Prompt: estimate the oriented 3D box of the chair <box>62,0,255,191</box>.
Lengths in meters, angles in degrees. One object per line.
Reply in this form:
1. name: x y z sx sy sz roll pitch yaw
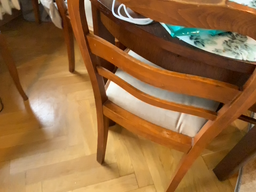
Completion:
1. chair: 0.130 -0.020 0.790 0.420 0.840 0.430 26 54 15
